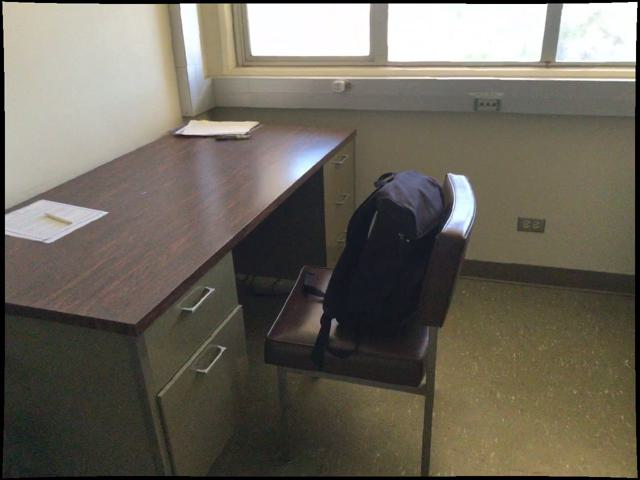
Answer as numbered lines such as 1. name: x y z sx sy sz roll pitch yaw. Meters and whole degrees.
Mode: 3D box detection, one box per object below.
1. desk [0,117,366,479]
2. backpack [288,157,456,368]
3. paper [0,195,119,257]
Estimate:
1. desk: -0.469 0.120 2.040 0.828 0.691 1.540 6 29 20
2. backpack: 0.170 0.040 1.630 0.349 0.421 0.400 6 29 20
3. paper: -0.848 -0.050 1.720 0.389 0.040 0.270 6 29 20
